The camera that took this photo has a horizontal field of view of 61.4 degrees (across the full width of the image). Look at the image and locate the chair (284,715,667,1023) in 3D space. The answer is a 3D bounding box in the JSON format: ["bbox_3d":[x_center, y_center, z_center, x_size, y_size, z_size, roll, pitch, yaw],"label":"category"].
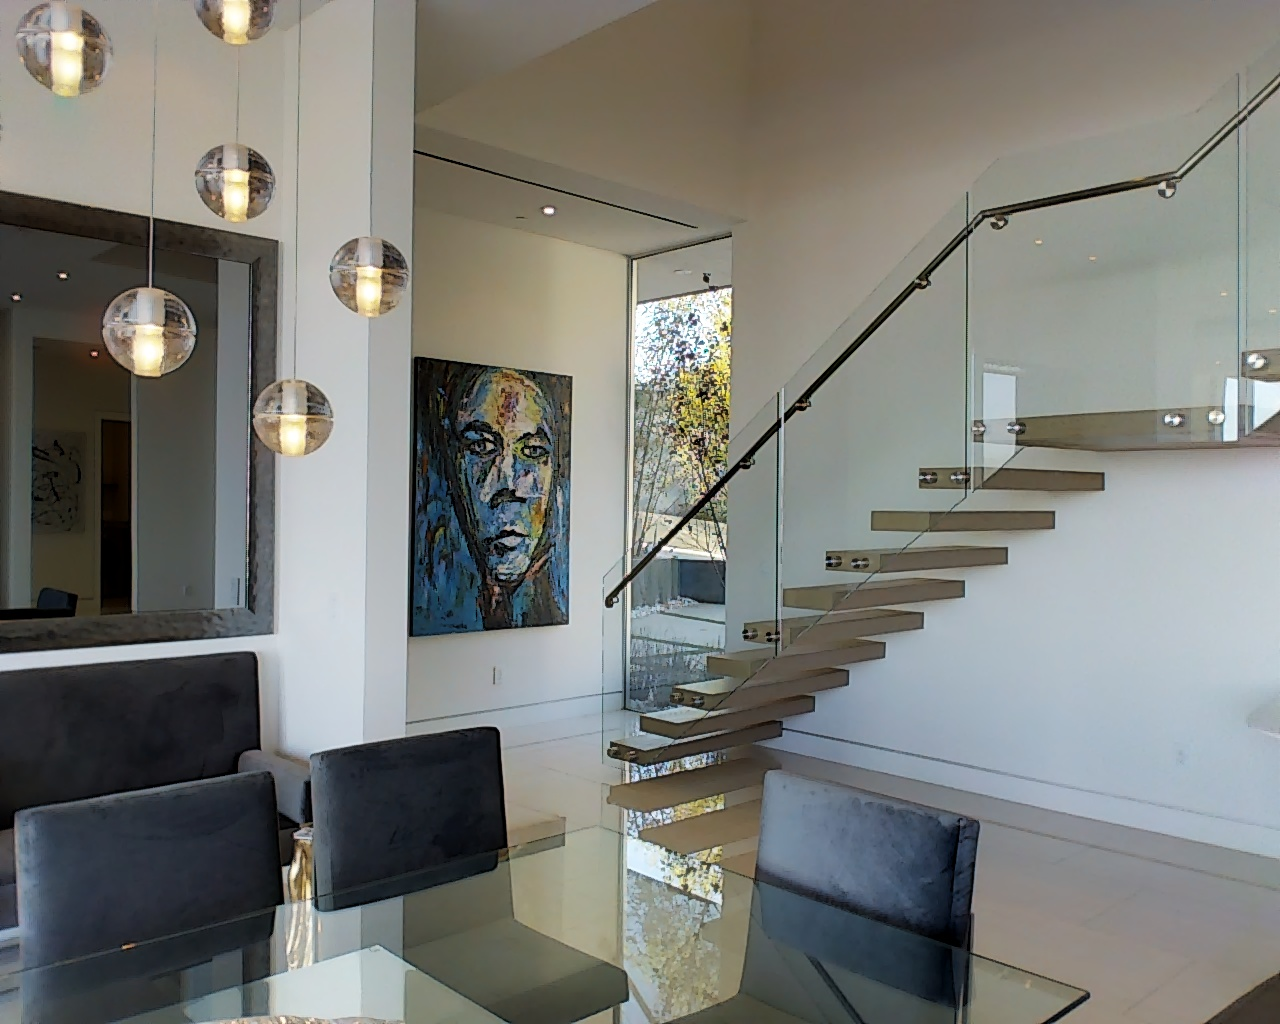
[{"bbox_3d":[-0.390,1.030,2.460,0.560,0.960,0.710,0,0,-42],"label":"chair"}]

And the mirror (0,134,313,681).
[{"bbox_3d":[-2.270,-0.340,3.490,2.440,1.780,0.230,0,0,-42],"label":"mirror"}]

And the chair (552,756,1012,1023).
[{"bbox_3d":[0.270,1.010,2.040,0.670,0.900,0.560,0,0,-42],"label":"chair"}]
